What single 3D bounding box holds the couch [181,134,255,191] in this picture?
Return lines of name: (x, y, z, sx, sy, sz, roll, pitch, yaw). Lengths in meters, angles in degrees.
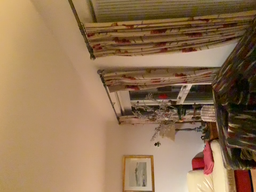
couch: (1.490, 1.790, 3.480, 1.120, 0.820, 2.120, 81, -172, -69)
